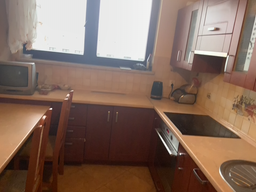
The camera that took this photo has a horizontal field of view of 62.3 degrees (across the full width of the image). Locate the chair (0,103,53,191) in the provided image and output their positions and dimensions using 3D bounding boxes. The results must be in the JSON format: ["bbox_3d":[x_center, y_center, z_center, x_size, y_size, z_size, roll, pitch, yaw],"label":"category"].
[{"bbox_3d":[-0.820,0.590,1.510,0.440,0.980,0.400,5,14,-10],"label":"chair"}]

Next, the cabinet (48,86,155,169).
[{"bbox_3d":[-0.350,0.400,2.790,1.190,0.860,0.520,5,14,-7],"label":"cabinet"}]
